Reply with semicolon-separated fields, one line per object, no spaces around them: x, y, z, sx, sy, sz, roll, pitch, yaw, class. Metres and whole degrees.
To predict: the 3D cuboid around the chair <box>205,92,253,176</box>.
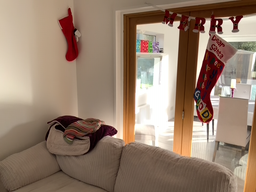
1.510;0.530;3.180;0.470;1.070;0.460;9;14;35;chair

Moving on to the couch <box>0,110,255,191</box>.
-0.210;0.830;1.830;2.150;0.870;1.080;9;14;35;couch
